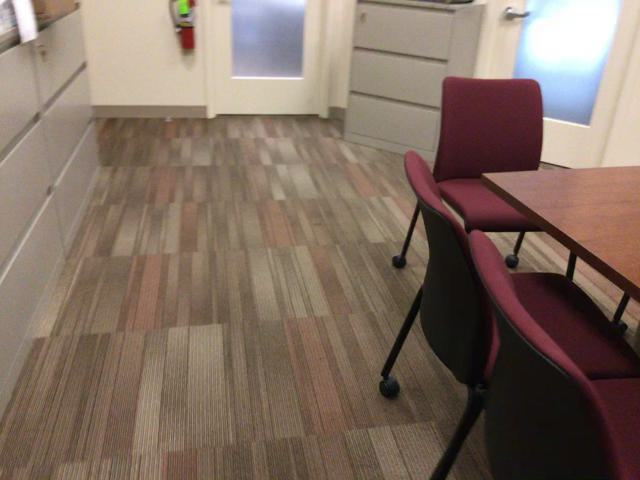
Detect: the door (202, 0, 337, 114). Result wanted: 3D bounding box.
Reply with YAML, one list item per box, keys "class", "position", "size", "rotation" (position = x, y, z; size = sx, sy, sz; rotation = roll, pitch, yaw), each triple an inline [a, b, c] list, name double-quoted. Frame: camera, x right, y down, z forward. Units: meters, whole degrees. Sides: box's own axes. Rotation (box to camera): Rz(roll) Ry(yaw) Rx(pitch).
- class: "door"
  position: [-0.360, -2.080, 4.090]
  size: [0.980, 2.330, 0.180]
  rotation: [-3, 28, -10]
